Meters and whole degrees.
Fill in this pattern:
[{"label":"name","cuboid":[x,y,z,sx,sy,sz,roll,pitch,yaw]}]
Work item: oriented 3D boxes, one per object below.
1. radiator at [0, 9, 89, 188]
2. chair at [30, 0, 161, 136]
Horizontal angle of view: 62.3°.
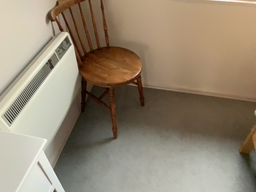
[{"label":"radiator","cuboid":[-0.430,-0.010,1.100,0.150,0.580,0.720,9,45,8]},{"label":"chair","cuboid":[-0.160,-0.260,1.450,0.510,0.820,0.510,25,50,22]}]
